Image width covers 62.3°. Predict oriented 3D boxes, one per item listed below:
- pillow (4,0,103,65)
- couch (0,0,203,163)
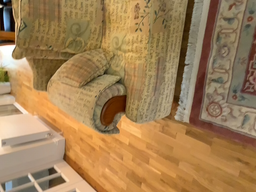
[{"bbox_3d":[-0.460,-0.550,1.370,0.140,0.560,0.600,-122,41,-72],"label":"pillow"},{"bbox_3d":[-0.230,-0.860,1.390,1.150,0.910,2.010,18,108,44],"label":"couch"}]
